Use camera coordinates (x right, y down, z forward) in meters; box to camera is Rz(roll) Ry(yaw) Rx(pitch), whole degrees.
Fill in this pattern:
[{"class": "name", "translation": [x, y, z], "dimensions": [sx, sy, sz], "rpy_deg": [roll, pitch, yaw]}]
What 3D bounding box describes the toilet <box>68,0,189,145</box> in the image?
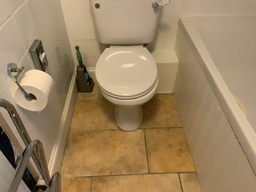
[{"class": "toilet", "translation": [0.000, -0.220, 1.320], "dimensions": [0.460, 0.800, 0.670], "rpy_deg": [-2, 42, 0]}]
